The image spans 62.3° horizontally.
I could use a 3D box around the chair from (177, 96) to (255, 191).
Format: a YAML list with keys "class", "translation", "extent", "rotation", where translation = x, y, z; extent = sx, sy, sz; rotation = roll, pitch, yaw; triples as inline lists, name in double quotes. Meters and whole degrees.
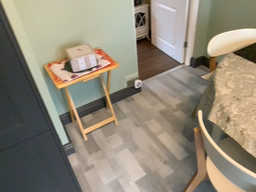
- class: "chair"
  translation: [0.560, 0.470, 1.050]
  extent: [0.450, 0.800, 0.390]
  rotation: [-20, 41, -18]
